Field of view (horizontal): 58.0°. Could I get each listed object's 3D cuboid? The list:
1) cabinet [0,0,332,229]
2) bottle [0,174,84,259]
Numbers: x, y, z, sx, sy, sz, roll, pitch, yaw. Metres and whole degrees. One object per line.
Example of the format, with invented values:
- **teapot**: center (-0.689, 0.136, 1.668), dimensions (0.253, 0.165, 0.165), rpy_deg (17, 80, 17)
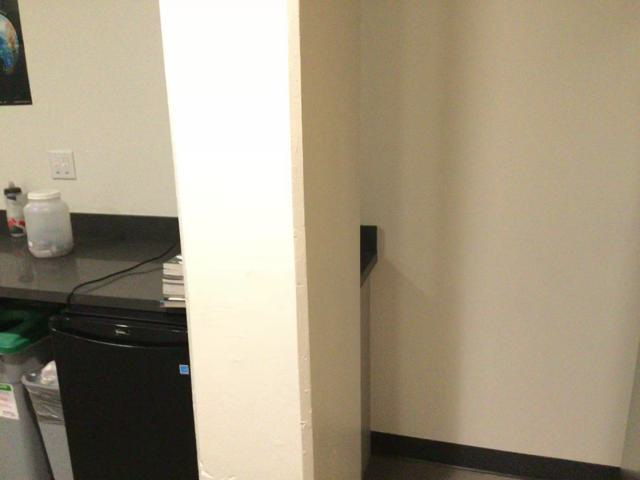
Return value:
- **cabinet**: center (-0.720, -0.520, 2.190), dimensions (1.530, 0.830, 0.170), rpy_deg (5, 13, 17)
- **bottle**: center (-1.000, -0.090, 2.090), dimensions (0.190, 0.270, 0.170), rpy_deg (5, 13, 17)
